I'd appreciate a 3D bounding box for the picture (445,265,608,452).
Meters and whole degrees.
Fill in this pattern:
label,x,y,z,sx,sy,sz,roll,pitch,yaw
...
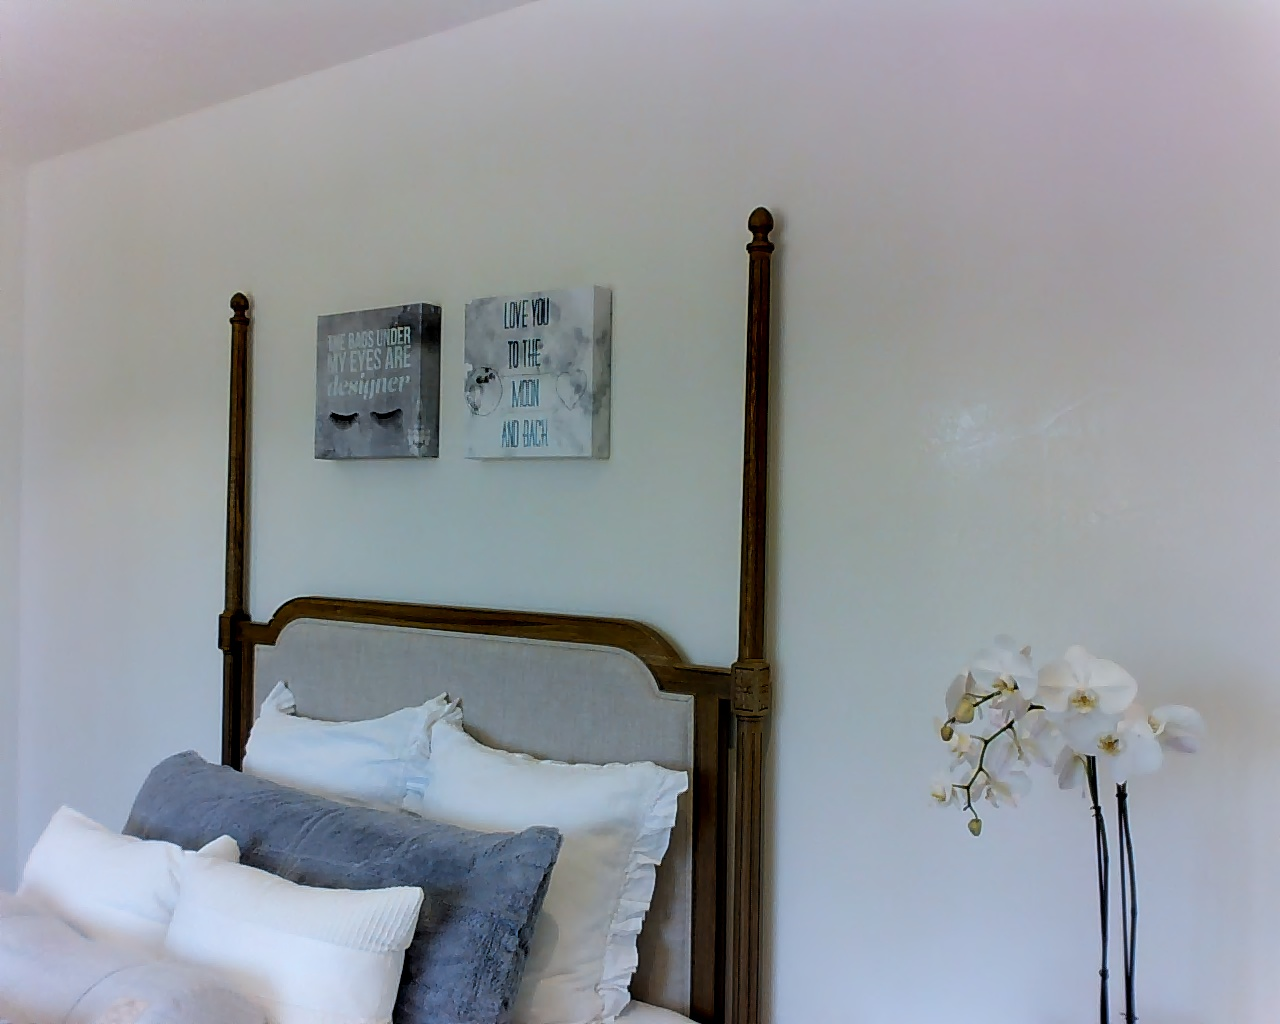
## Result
label,x,y,z,sx,sy,sz,roll,pitch,yaw
picture,-0.250,-0.320,2.330,0.360,0.370,0.100,1,0,33

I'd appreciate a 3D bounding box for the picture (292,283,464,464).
label,x,y,z,sx,sy,sz,roll,pitch,yaw
picture,-0.640,-0.320,2.600,0.460,0.400,0.110,1,0,33

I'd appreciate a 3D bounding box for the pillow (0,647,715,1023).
label,x,y,z,sx,sy,sz,roll,pitch,yaw
pillow,-0.770,0.630,1.910,1.370,0.560,1.230,1,0,33
